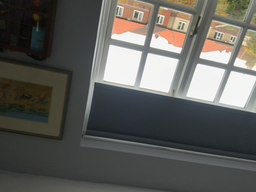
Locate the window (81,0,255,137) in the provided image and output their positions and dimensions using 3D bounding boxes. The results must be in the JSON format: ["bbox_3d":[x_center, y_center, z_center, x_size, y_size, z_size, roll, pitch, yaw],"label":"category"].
[{"bbox_3d":[0.680,-0.270,1.450,1.810,1.010,0.200,12,-161,-8],"label":"window"}]
